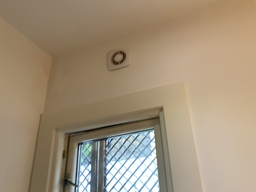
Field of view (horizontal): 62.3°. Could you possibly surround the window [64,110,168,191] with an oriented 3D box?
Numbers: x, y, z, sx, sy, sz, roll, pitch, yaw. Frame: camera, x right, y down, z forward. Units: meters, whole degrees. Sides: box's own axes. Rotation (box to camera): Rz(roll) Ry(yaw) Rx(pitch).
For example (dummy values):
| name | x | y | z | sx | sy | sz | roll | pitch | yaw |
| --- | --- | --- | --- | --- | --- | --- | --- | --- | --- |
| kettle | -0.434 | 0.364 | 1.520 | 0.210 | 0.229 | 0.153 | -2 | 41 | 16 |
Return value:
| name | x | y | z | sx | sy | sz | roll | pitch | yaw |
| --- | --- | --- | --- | --- | --- | --- | --- | --- | --- |
| window | -0.120 | 0.520 | 1.610 | 0.800 | 0.720 | 0.060 | -12 | -28 | 19 |
